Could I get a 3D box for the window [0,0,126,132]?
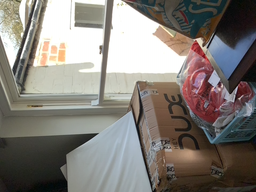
[{"bbox_3d":[-0.530,-0.260,1.360,1.070,0.840,0.410,103,160,-45],"label":"window"}]
